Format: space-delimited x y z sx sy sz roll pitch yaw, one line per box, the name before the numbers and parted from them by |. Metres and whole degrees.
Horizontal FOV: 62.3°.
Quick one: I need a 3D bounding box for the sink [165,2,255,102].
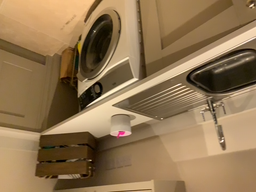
sink | 0.520 -0.170 1.110 0.500 0.180 0.400 19 147 -40
